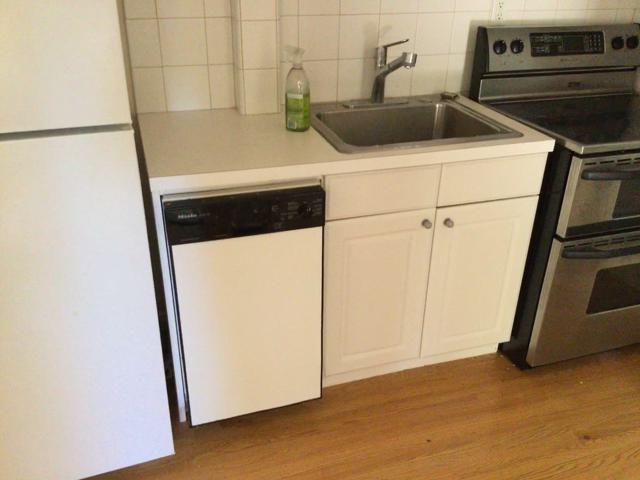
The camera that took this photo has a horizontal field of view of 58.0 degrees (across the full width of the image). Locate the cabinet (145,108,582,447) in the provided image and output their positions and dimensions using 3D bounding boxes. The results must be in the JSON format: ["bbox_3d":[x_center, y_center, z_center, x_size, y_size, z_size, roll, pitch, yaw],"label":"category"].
[{"bbox_3d":[0.170,0.130,1.880,1.260,0.940,0.170,-9,28,-11],"label":"cabinet"}]

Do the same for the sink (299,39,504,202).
[{"bbox_3d":[0.260,-0.440,2.030,0.560,0.400,0.440,-9,28,-11],"label":"sink"}]

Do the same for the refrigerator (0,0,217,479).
[{"bbox_3d":[-0.860,-0.100,1.580,0.870,1.640,0.760,-9,28,-11],"label":"refrigerator"}]
